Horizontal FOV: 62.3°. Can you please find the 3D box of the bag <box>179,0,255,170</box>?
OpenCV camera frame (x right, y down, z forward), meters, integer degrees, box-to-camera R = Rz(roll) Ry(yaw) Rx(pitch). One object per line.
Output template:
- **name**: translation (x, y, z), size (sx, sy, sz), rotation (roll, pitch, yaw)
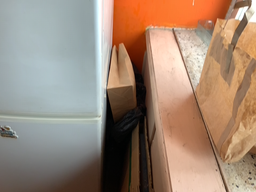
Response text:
- **bag**: translation (0.340, -0.040, 0.580), size (0.270, 0.300, 0.360), rotation (4, 44, -3)
